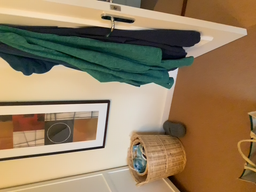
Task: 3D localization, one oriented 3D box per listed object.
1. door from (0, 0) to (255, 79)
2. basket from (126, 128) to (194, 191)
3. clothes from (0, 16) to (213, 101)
[{"bbox_3d":[-0.270,-0.330,1.380,1.000,2.020,0.190,-20,74,62],"label":"door"},{"bbox_3d":[0.300,0.610,2.120,0.400,0.460,0.410,36,123,57],"label":"basket"},{"bbox_3d":[-0.170,-0.170,1.460,0.670,1.320,0.270,-21,73,62],"label":"clothes"}]
